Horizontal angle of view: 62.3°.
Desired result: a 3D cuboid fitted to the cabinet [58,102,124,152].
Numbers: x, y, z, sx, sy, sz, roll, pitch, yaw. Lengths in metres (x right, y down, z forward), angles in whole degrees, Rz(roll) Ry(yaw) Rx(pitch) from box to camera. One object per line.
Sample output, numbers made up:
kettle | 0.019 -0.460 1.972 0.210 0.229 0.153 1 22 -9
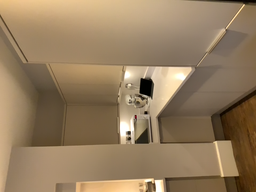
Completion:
cabinet | -0.500 0.440 3.020 0.370 0.840 0.630 107 162 -67
